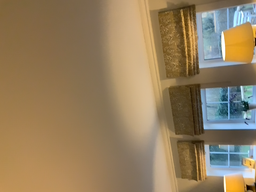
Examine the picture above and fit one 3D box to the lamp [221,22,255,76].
[{"bbox_3d":[1.630,-0.620,2.680,0.540,0.780,0.500,-63,-35,-55],"label":"lamp"}]
